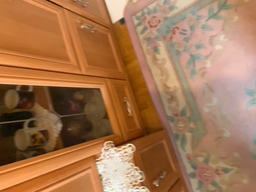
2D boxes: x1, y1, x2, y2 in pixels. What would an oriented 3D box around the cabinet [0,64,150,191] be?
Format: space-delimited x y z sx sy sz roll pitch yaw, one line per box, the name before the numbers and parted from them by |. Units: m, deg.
cabinet | -0.570 0.150 0.660 0.390 2.080 0.400 -23 79 27
